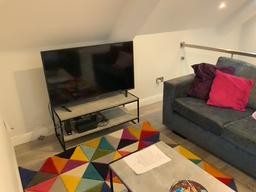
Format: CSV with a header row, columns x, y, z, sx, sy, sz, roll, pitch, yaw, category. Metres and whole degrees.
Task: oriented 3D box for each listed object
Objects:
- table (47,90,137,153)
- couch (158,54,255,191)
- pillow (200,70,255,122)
x,y,z,sx,sy,sz,roll,pitch,yaw,category
-0.440,0.270,2.700,0.980,0.380,0.500,-15,26,-29,table
1.230,0.170,2.190,0.980,0.840,1.650,-15,25,-28,couch
1.130,0.000,2.380,0.420,0.430,0.220,-31,-13,36,pillow
